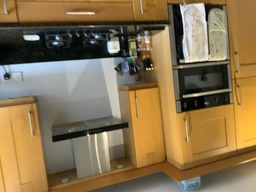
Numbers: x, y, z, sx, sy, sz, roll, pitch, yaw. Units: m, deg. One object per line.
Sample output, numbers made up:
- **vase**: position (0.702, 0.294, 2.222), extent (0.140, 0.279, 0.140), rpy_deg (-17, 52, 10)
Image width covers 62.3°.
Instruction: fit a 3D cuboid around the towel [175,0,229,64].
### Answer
- **towel**: position (0.630, -0.570, 1.790), extent (0.440, 0.560, 0.080), rpy_deg (-7, -175, -17)
